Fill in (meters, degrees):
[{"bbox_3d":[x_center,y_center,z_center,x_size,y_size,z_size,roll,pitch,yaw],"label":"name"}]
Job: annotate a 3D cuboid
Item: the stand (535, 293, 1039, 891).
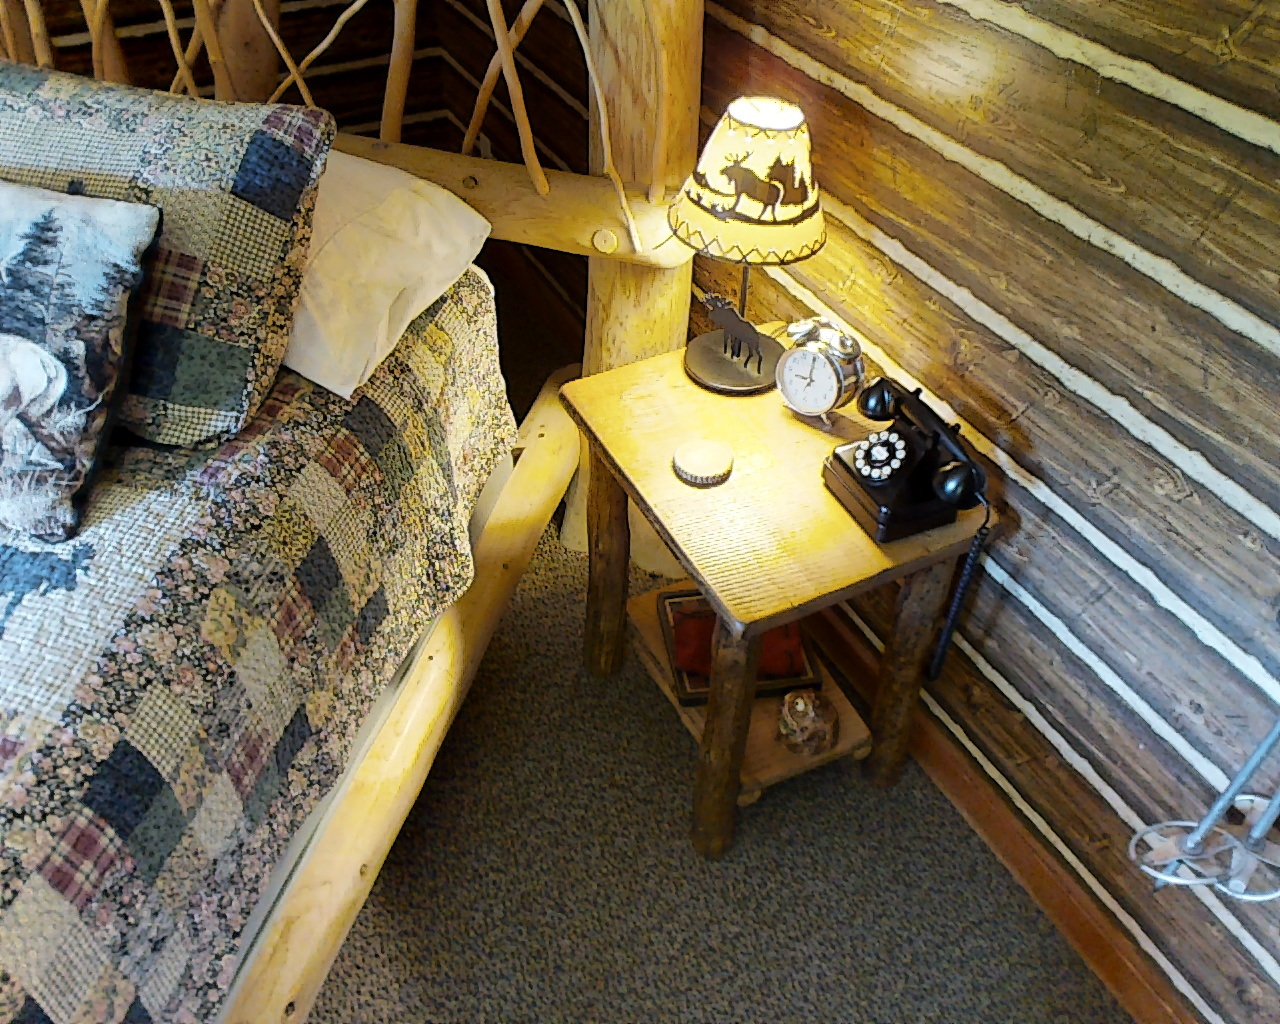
[{"bbox_3d":[0.180,0.110,1.740,0.450,0.610,0.610,-20,46,-21],"label":"stand"}]
